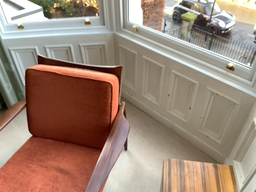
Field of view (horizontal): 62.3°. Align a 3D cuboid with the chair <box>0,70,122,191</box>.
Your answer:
[{"bbox_3d":[-0.420,0.380,1.160,0.600,0.680,0.740,9,41,10],"label":"chair"}]
